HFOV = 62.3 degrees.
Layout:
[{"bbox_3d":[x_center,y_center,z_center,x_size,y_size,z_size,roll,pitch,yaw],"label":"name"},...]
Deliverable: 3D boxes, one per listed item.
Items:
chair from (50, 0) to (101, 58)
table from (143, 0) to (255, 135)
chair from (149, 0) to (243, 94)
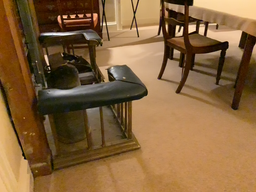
[{"bbox_3d":[-0.660,-1.030,2.770,0.520,0.900,0.510,-6,31,-8],"label":"chair"},{"bbox_3d":[1.160,-0.620,2.200,1.250,0.710,2.300,-10,32,-14],"label":"table"},{"bbox_3d":[0.570,-0.600,1.970,0.550,0.940,0.530,-10,32,-14],"label":"chair"}]
